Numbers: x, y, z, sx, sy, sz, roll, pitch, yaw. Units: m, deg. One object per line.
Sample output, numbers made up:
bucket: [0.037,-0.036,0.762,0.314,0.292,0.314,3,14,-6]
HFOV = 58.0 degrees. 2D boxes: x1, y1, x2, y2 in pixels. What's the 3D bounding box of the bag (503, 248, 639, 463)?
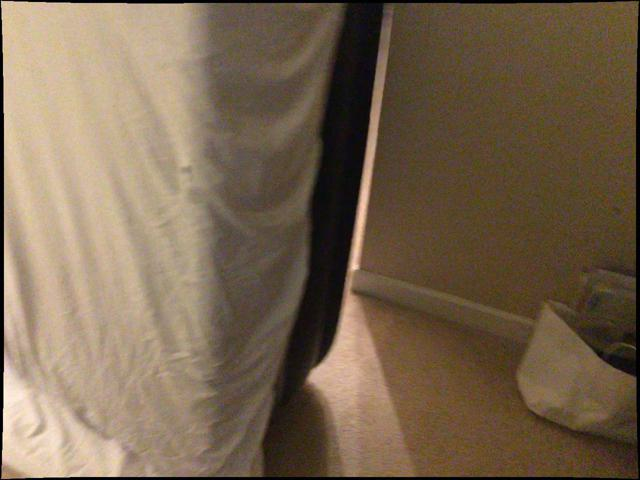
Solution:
bag: [0.858,0.341,1.670,0.489,0.371,0.350,19,41,18]
